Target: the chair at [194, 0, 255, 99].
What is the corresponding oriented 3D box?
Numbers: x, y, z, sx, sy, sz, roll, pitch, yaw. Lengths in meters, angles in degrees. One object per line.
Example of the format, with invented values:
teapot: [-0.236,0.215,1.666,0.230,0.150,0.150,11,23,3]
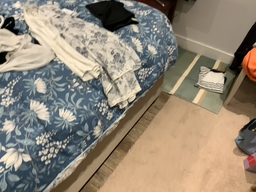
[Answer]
chair: [0.970,-0.570,1.660,0.470,0.950,0.560,27,50,20]
